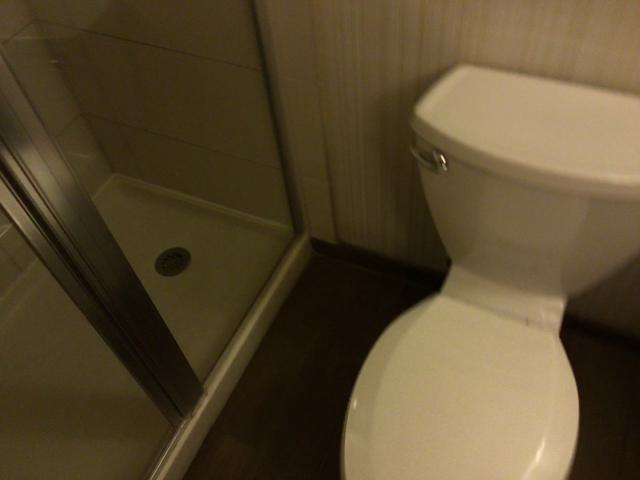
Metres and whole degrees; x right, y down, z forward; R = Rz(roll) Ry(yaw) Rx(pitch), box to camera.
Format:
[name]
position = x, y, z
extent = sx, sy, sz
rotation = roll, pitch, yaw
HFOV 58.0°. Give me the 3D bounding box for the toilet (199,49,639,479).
[toilet]
position = 0.280, 0.240, 1.030
extent = 0.450, 0.740, 0.780
rotation = 18, 56, 20
